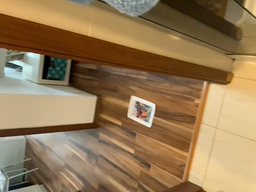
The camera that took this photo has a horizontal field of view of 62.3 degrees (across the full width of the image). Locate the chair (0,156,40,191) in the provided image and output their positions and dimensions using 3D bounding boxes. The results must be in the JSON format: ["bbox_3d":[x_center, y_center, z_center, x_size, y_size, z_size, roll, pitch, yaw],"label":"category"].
[{"bbox_3d":[-1.900,1.350,3.500,0.410,0.670,0.450,18,101,45],"label":"chair"}]

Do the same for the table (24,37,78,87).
[{"bbox_3d":[-1.000,-0.430,2.730,0.480,0.440,0.540,15,99,45],"label":"table"}]
